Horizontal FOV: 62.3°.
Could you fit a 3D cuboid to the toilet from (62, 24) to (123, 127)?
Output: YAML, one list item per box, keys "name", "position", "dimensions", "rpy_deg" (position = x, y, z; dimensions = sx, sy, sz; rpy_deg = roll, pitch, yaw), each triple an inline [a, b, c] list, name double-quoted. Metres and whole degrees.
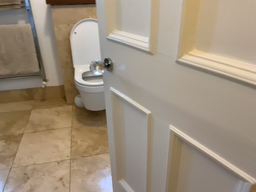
- name: "toilet"
  position: [-0.310, -0.210, 1.850]
  dimensions: [0.400, 0.700, 0.570]
  rpy_deg: [-7, 28, -12]
